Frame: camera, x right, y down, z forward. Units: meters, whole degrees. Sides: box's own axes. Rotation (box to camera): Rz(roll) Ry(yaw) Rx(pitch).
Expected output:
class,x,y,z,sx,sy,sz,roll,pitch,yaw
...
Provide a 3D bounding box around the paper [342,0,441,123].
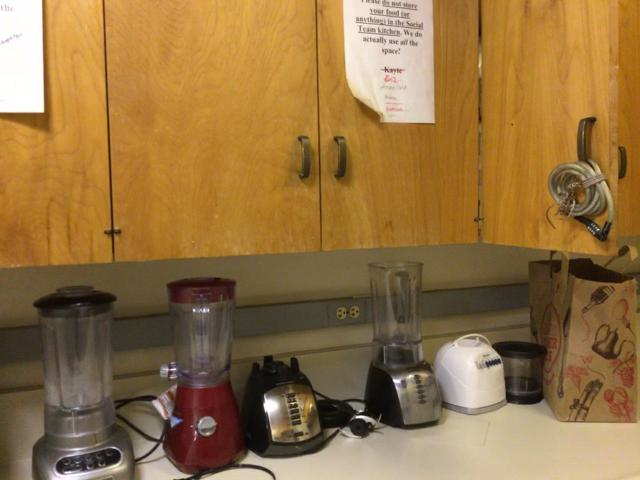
class,x,y,z,sx,sy,sz,roll,pitch,yaw
paper,0.150,-0.390,1.190,0.220,0.280,0.020,-2,2,-23

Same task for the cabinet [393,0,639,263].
class,x,y,z,sx,sy,sz,roll,pitch,yaw
cabinet,0.730,-0.480,1.360,0.910,0.990,0.640,-2,2,-23

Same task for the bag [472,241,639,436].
class,x,y,z,sx,sy,sz,roll,pitch,yaw
bag,0.680,0.220,1.550,0.310,0.410,0.460,-2,2,-23
